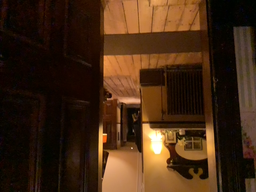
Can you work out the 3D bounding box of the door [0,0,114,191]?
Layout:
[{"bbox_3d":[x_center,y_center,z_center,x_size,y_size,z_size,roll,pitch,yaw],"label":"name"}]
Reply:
[{"bbox_3d":[-0.470,0.070,1.290,0.240,2.070,1.070,-4,172,28],"label":"door"}]
